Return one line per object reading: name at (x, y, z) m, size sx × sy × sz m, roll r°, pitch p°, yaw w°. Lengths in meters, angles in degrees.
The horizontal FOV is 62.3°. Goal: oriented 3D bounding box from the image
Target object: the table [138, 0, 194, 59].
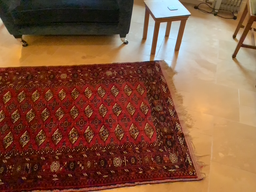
table at (0.360, -0.700, 2.190) m, size 0.370 × 0.420 × 0.370 m, roll -17°, pitch 51°, yaw -17°
